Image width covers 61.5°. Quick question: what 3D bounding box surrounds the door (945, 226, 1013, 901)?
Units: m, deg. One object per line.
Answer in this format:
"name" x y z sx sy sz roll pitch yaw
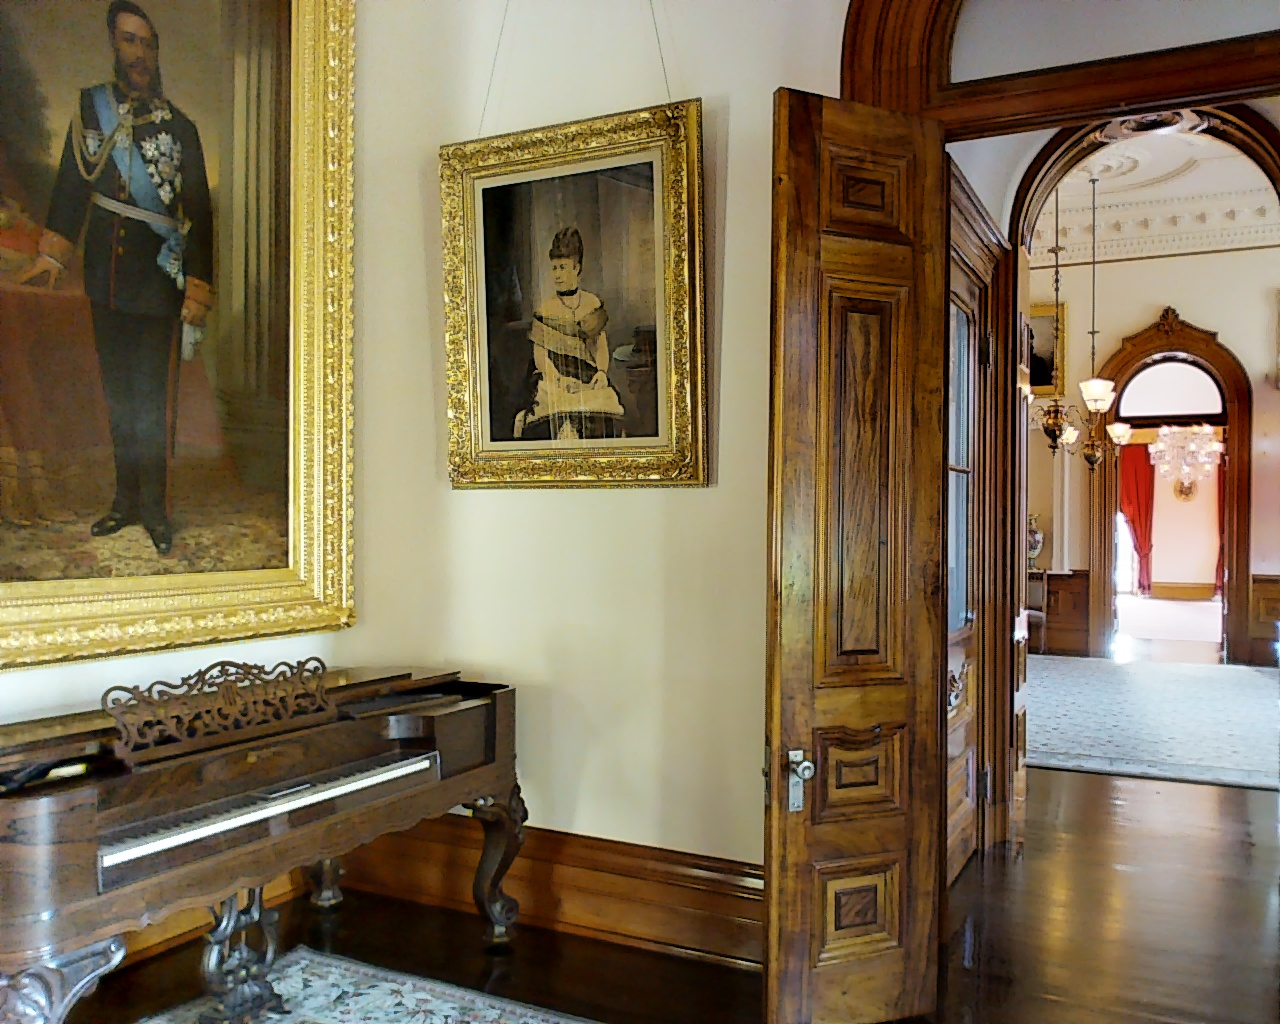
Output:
"door" 1.530 0.210 4.810 0.100 2.720 1.020 0 0 27
